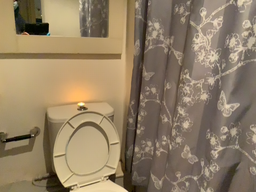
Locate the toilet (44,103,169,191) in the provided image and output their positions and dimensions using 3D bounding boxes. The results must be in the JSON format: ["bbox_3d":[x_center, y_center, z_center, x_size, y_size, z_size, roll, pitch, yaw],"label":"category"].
[{"bbox_3d":[-0.180,0.520,1.120,0.390,0.760,0.680,-5,18,-24],"label":"toilet"}]
